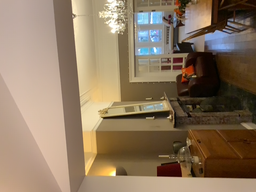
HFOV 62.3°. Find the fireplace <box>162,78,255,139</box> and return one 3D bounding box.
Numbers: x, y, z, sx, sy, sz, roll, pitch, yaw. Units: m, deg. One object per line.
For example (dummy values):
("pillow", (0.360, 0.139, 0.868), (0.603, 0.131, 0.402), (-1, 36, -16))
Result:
("fireplace", (1.290, 0.120, 3.740), (1.640, 1.220, 0.700), (-68, -23, -80))

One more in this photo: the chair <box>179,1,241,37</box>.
("chair", (1.420, -1.350, 3.800), (0.470, 0.920, 0.520), (-71, -20, -78))

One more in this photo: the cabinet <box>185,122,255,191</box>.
("cabinet", (1.280, 0.660, 2.360), (0.780, 1.110, 0.490), (-74, -17, -76))
